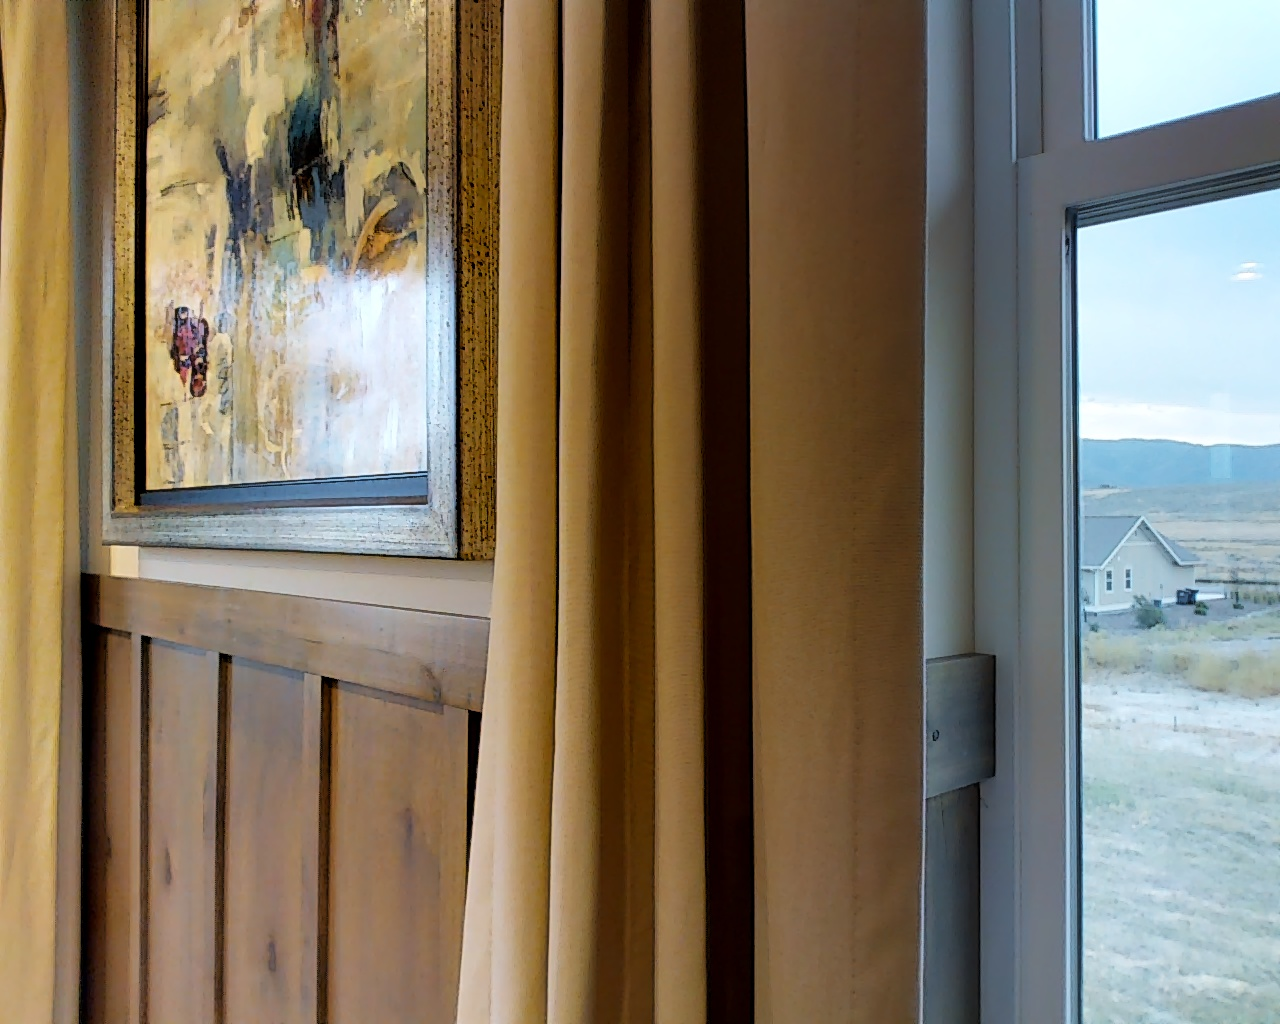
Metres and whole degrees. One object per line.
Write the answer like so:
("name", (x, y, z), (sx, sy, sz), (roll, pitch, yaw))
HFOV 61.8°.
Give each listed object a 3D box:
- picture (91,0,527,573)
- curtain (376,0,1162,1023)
("picture", (-0.490, -0.480, 1.360), (0.070, 1.080, 1.050), (1, -2, -43))
("curtain", (0.040, 0.040, 0.690), (0.180, 2.670, 0.500), (1, -2, -43))
